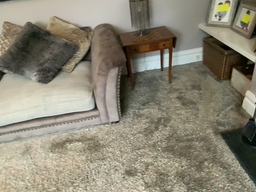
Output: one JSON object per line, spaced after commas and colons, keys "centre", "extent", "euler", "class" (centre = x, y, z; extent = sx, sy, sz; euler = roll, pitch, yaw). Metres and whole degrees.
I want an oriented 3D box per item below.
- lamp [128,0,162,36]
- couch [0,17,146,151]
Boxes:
{"centre": [0.180, -0.880, 2.310], "extent": [0.310, 0.330, 0.260], "euler": [-9, 33, -1], "class": "lamp"}
{"centre": [-0.810, -0.180, 2.160], "extent": [1.750, 0.730, 1.100], "euler": [-10, 33, -3], "class": "couch"}
